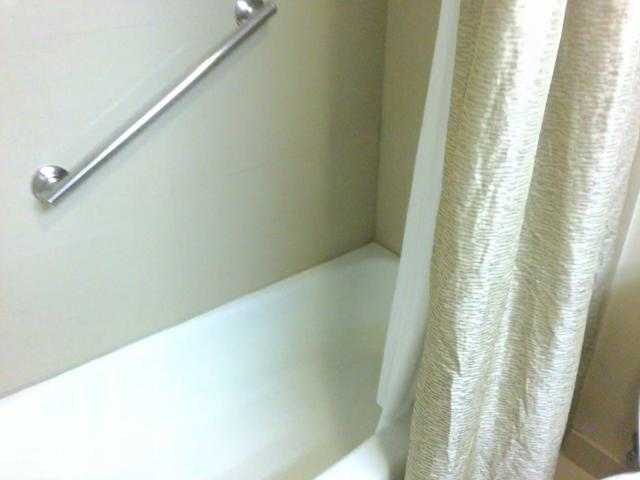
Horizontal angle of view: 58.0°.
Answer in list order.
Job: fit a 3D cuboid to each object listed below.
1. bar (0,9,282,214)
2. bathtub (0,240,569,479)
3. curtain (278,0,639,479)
[{"bbox_3d":[-0.360,-0.310,1.310,0.580,0.350,0.090,-20,34,-32],"label":"bar"},{"bbox_3d":[-0.150,0.510,1.450,1.430,0.380,0.730,-20,34,-32],"label":"bathtub"},{"bbox_3d":[0.370,-0.070,1.100,0.710,1.710,0.500,-20,34,-32],"label":"curtain"}]
